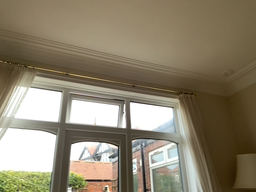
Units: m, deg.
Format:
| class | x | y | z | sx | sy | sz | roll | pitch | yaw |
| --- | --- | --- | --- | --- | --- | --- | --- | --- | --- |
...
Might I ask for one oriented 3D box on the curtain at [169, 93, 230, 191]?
| class | x | y | z | sx | sy | sz | roll | pitch | yaw |
| --- | --- | --- | --- | --- | --- | --- | --- | --- | --- |
| curtain | 0.880 | 1.200 | 2.380 | 0.540 | 2.550 | 0.220 | 10 | -28 | -23 |
